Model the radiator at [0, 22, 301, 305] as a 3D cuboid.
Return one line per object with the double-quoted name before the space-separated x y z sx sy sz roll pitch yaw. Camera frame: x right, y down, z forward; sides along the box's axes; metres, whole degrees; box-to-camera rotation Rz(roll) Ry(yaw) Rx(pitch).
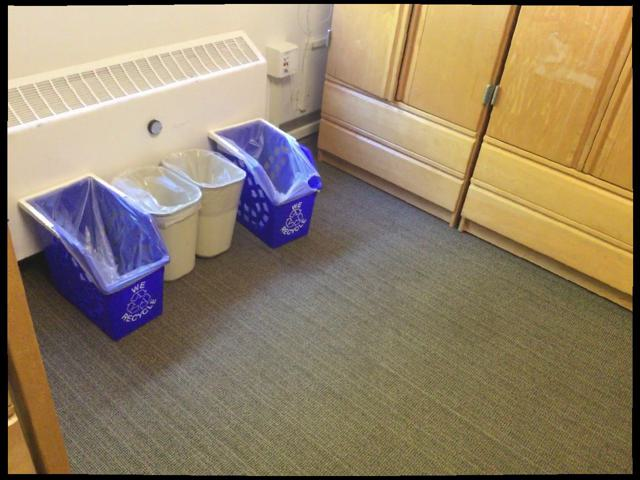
"radiator" -0.609 -0.351 2.130 0.260 0.631 1.249 30 42 30
